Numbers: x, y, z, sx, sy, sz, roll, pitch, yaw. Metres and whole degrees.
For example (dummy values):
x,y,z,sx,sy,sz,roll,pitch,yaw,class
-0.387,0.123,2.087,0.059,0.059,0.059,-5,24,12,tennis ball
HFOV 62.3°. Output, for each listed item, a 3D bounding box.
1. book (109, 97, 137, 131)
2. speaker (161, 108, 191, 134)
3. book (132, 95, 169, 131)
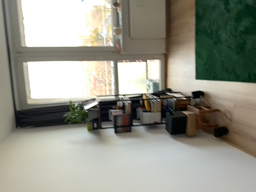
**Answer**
x,y,z,sx,sy,sz,roll,pitch,yaw,class
-0.080,0.230,2.920,0.480,0.280,0.370,-159,66,-74,book
0.560,0.290,2.500,0.220,0.270,0.240,-157,64,-74,speaker
0.310,0.220,3.020,0.470,0.370,0.400,-157,64,-74,book
